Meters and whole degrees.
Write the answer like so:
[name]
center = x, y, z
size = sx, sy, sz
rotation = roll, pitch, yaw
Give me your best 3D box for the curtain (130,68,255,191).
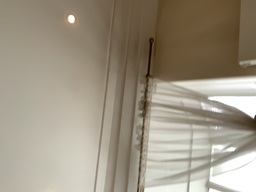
[curtain]
center = 0.650, 0.300, 1.270
size = 0.270, 1.490, 0.870
rotation = 11, -98, -40
